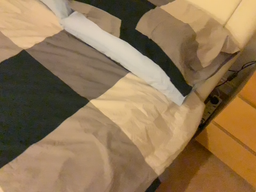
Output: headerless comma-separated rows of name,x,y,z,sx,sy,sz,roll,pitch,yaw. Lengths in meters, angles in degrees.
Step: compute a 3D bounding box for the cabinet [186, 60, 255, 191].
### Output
cabinet,0.690,0.110,1.060,0.410,0.550,0.510,39,60,17
